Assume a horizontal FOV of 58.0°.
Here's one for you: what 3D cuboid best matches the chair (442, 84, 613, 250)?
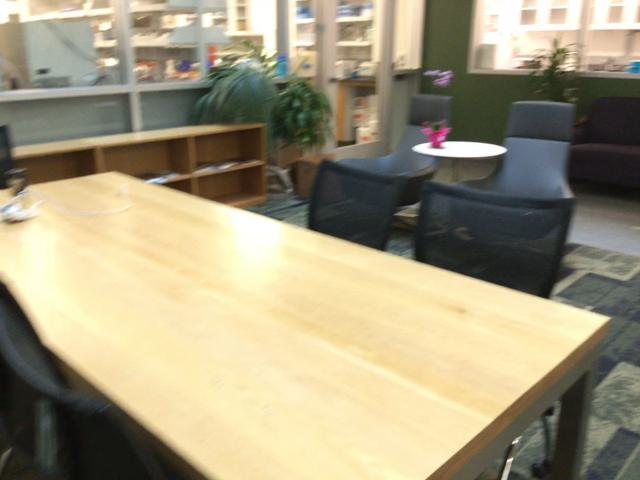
[{"bbox_3d":[1.290,-0.510,3.620,0.750,0.840,0.730,13,23,34],"label":"chair"}]

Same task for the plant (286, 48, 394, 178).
[{"bbox_3d":[0.180,-1.190,5.280,0.710,1.060,0.640,-17,25,-40],"label":"plant"}]
